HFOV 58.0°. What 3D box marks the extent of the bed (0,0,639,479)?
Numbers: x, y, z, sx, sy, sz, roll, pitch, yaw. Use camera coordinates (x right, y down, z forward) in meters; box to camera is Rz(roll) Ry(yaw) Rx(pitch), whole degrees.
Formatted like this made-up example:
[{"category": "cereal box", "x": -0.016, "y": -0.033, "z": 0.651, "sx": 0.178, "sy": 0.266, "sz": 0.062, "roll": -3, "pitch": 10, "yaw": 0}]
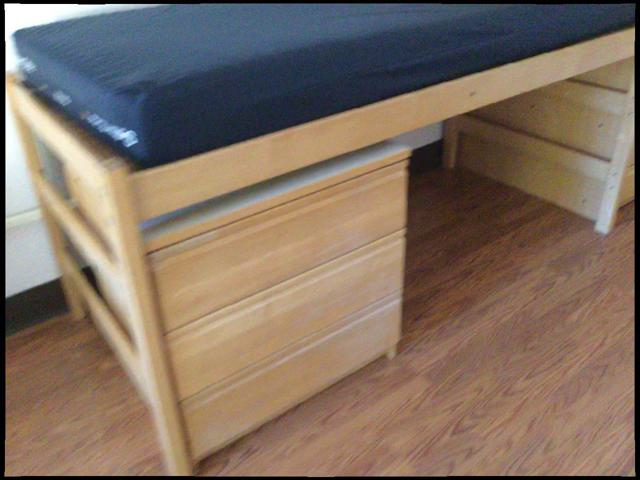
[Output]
[{"category": "bed", "x": 0.140, "y": -0.371, "z": 2.160, "sx": 2.198, "sy": 1.082, "sz": 1.110, "roll": -23, "pitch": 38, "yaw": -27}]
